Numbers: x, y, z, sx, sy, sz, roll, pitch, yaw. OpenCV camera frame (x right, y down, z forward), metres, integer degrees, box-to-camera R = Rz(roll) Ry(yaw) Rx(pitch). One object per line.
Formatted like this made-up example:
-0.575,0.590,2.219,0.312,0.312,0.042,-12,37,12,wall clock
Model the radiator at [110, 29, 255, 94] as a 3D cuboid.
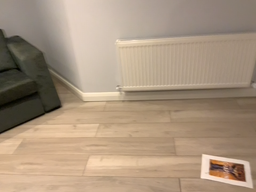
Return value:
0.480,-0.290,1.940,1.230,0.540,0.080,-1,30,6,radiator
